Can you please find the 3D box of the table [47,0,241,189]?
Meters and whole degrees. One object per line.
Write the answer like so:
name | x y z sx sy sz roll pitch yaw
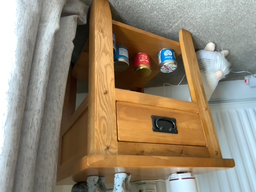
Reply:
table | -0.010 0.060 0.940 0.530 0.590 0.570 9 152 -26
